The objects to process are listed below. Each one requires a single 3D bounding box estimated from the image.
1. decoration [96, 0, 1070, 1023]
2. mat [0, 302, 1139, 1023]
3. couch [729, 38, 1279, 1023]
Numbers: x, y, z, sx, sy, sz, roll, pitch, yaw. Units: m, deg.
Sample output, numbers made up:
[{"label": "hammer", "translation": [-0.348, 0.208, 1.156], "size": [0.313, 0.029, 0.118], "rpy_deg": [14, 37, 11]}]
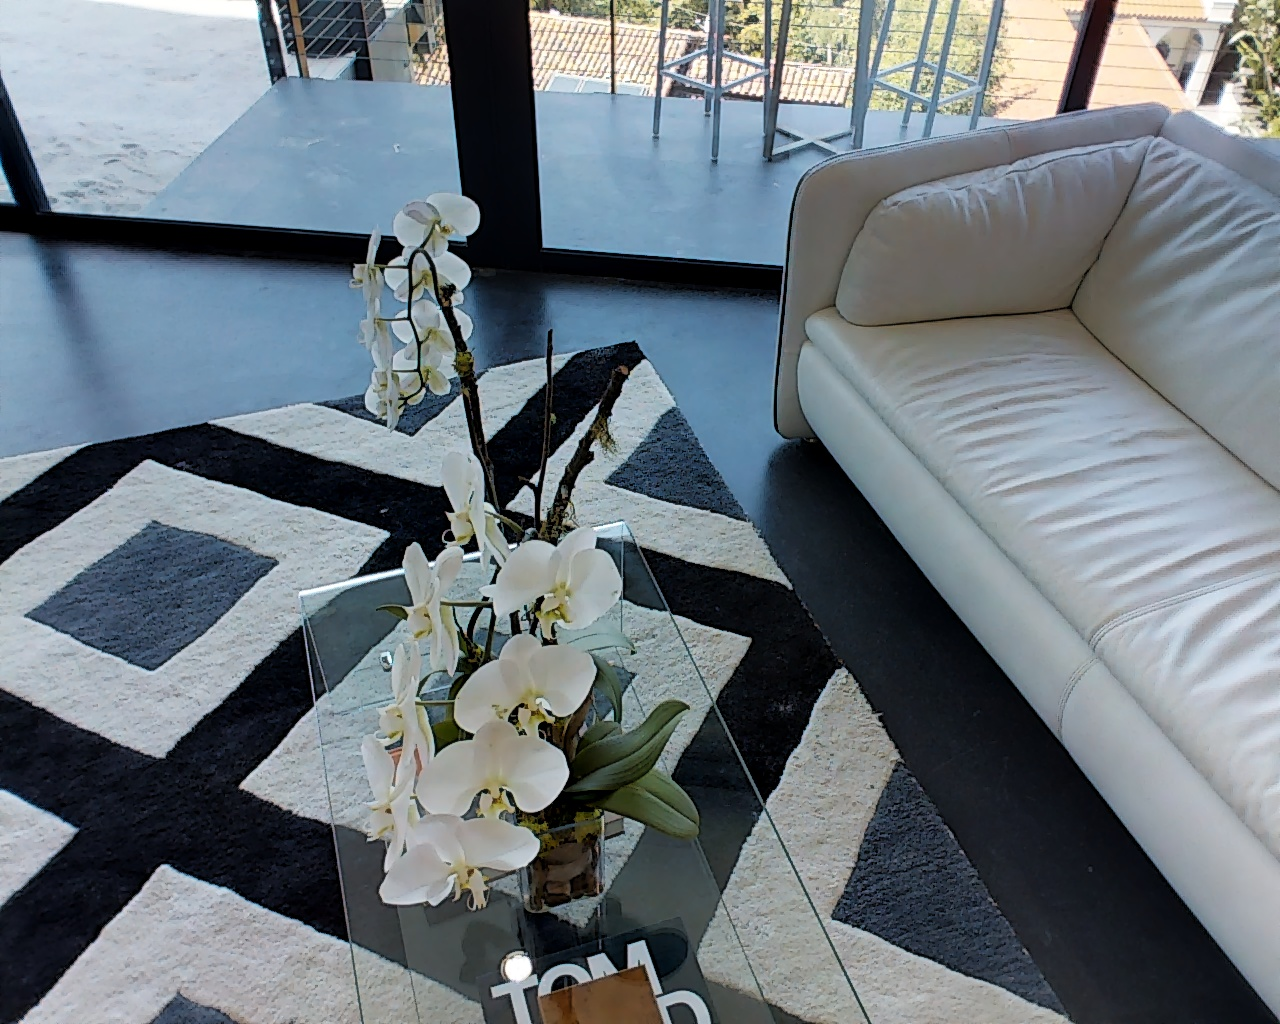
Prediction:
[{"label": "decoration", "translation": [-0.150, 0.180, 1.300], "size": [0.470, 1.150, 1.130], "rpy_deg": [-9, 43, -11]}, {"label": "mat", "translation": [-0.640, 0.830, 1.440], "size": [2.610, 0.070, 3.380], "rpy_deg": [-14, 44, -15]}, {"label": "couch", "translation": [1.140, 0.080, 1.760], "size": [1.040, 0.760, 2.430], "rpy_deg": [-14, 44, -15]}]
